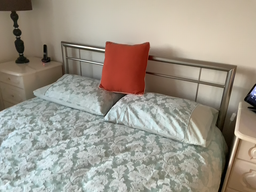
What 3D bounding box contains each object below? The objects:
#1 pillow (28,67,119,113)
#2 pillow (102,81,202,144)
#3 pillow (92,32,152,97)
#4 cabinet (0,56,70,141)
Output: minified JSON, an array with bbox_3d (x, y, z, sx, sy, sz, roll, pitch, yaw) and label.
[{"bbox_3d":[-0.460,-0.090,1.900,0.540,0.140,0.560,14,27,27],"label":"pillow"},{"bbox_3d":[0.180,0.080,1.550,0.580,0.150,0.450,14,27,27],"label":"pillow"},{"bbox_3d":[-0.040,-0.260,1.720,0.410,0.420,0.170,17,43,29],"label":"pillow"},{"bbox_3d":[-1.040,-0.010,2.320,0.510,0.700,0.520,14,27,27],"label":"cabinet"}]
